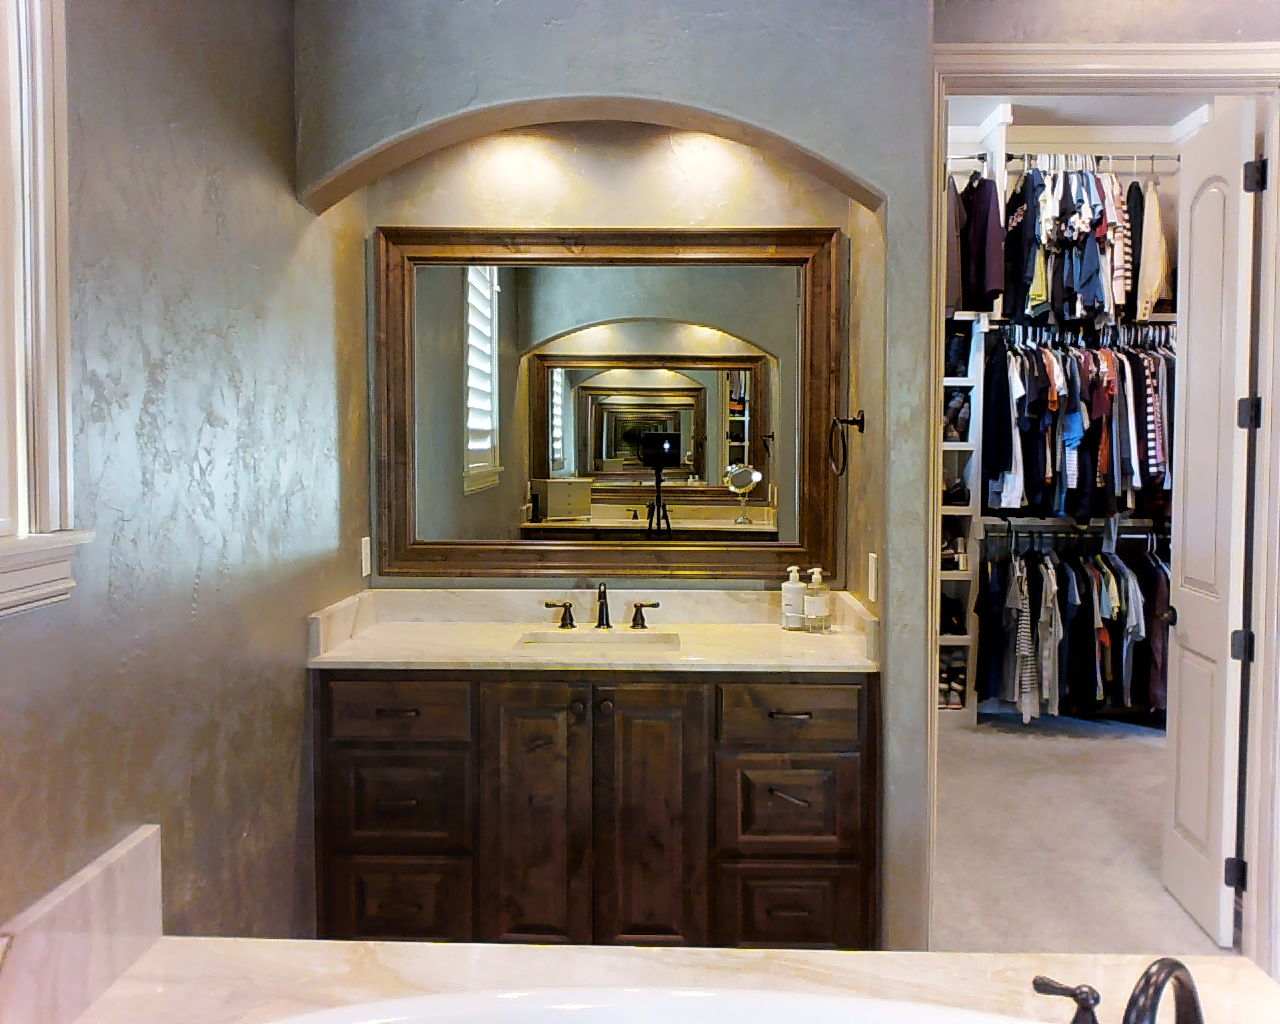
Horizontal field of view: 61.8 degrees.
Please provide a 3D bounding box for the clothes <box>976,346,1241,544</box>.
[{"bbox_3d":[2.320,-0.330,5.360,1.140,0.950,0.400,0,3,2],"label":"clothes"}]

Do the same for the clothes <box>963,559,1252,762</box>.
[{"bbox_3d":[2.370,0.740,5.520,1.220,0.940,0.600,0,3,2],"label":"clothes"}]

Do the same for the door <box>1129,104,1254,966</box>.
[{"bbox_3d":[1.670,0.080,3.270,0.060,2.460,0.450,-1,3,-6],"label":"door"}]

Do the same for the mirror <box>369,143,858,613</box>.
[{"bbox_3d":[-0.080,-0.390,3.230,1.450,1.390,0.060,0,3,2],"label":"mirror"}]
